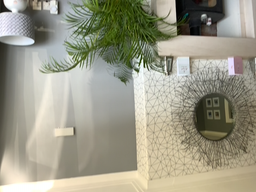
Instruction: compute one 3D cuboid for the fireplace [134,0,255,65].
[{"bbox_3d":[0.860,-0.990,2.350,1.390,1.140,0.840,-2,178,-16],"label":"fireplace"}]
